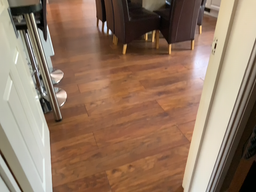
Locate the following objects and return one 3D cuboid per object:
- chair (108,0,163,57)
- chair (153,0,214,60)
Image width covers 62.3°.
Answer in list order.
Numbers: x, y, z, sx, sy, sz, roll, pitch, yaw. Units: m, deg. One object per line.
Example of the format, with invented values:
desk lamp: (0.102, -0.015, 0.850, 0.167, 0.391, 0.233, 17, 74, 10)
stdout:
chair: (0.080, -1.090, 2.680, 0.550, 1.000, 0.450, -12, 36, -15)
chair: (0.660, -1.060, 2.620, 0.450, 1.000, 0.550, -15, 37, -19)
